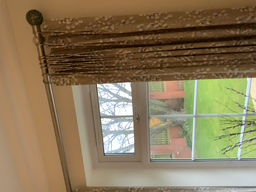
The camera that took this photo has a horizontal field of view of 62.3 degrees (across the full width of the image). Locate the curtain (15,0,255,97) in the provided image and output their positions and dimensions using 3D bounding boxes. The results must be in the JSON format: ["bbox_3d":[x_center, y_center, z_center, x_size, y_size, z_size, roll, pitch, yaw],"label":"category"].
[{"bbox_3d":[0.610,-0.270,1.040,0.120,2.250,0.470,-79,-13,-72],"label":"curtain"}]

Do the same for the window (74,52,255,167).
[{"bbox_3d":[0.700,0.130,1.570,0.080,2.100,0.880,-80,-12,-70],"label":"window"}]
